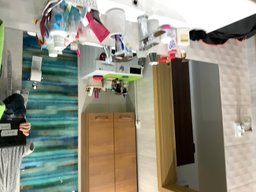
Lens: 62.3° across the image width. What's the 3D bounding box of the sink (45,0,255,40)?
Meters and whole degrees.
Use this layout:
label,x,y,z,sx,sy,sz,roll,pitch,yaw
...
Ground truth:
label,x,y,z,sx,sy,sz,roll,pitch,yaw
sink,0.140,-0.420,0.850,0.860,0.130,0.370,2,173,-33
